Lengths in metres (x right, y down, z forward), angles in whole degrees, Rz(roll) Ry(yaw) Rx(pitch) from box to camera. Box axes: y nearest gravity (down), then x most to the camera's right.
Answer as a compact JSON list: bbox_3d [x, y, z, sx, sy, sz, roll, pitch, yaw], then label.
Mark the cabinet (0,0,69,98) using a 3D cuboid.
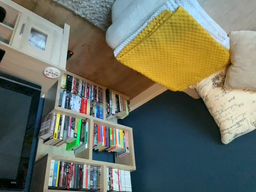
[{"bbox_3d":[-1.020,-0.460,1.310,1.170,0.470,0.430,24,138,-38],"label":"cabinet"}]
